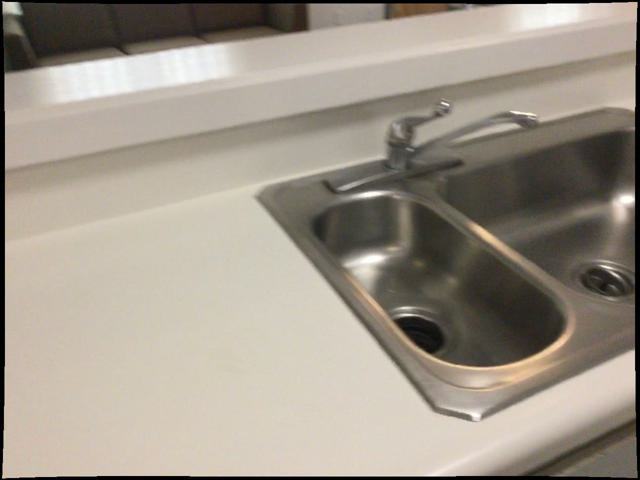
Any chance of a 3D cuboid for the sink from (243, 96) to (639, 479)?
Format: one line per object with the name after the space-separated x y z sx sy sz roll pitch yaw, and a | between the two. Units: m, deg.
0.369 0.020 0.970 0.828 0.220 0.580 -17 34 -20 | sink
